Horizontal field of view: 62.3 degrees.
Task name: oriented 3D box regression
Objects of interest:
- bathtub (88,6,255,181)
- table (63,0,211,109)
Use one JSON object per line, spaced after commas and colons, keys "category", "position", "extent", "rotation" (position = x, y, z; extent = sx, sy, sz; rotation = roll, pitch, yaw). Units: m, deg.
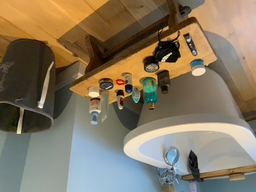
{"category": "bathtub", "position": [0.600, 0.250, 1.870], "extent": [0.840, 0.650, 1.760], "rotation": [-22, 144, 29]}
{"category": "table", "position": [0.010, -0.260, 1.220], "extent": [0.740, 0.380, 0.310], "rotation": [-23, 145, 29]}
